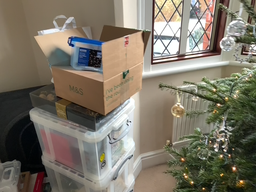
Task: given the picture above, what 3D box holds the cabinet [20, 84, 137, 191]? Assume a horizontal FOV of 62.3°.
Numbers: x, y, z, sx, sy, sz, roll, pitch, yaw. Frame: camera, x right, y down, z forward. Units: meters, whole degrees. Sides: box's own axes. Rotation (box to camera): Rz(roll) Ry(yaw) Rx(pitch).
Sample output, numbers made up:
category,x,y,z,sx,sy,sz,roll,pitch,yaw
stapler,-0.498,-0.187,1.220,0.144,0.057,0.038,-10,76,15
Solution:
category,x,y,z,sx,sy,sz,roll,pitch,yaw
cabinet,-0.250,0.440,1.360,0.480,0.890,0.390,12,30,26
